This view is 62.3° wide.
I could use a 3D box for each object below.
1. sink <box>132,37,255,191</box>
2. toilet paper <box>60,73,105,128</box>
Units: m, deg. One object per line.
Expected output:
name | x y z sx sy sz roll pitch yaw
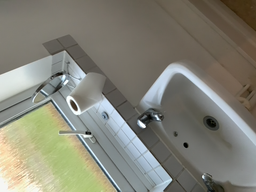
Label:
sink | 0.280 0.090 0.720 0.450 0.210 0.300 49 146 13
toilet paper | -0.180 0.020 0.820 0.120 0.100 0.160 49 146 13
